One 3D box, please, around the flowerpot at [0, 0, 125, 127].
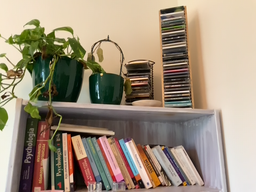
[{"bbox_3d":[-0.290,-0.100,1.010,0.470,0.440,0.430,3,-14,-12],"label":"flowerpot"}]
